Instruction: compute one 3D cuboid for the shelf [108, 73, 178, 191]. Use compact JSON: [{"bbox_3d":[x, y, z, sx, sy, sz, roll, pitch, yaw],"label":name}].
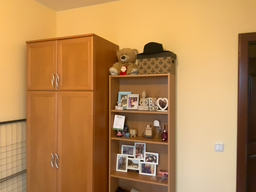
[{"bbox_3d":[0.140,0.660,2.110,0.630,1.730,0.260,1,1,22],"label":"shelf"}]
